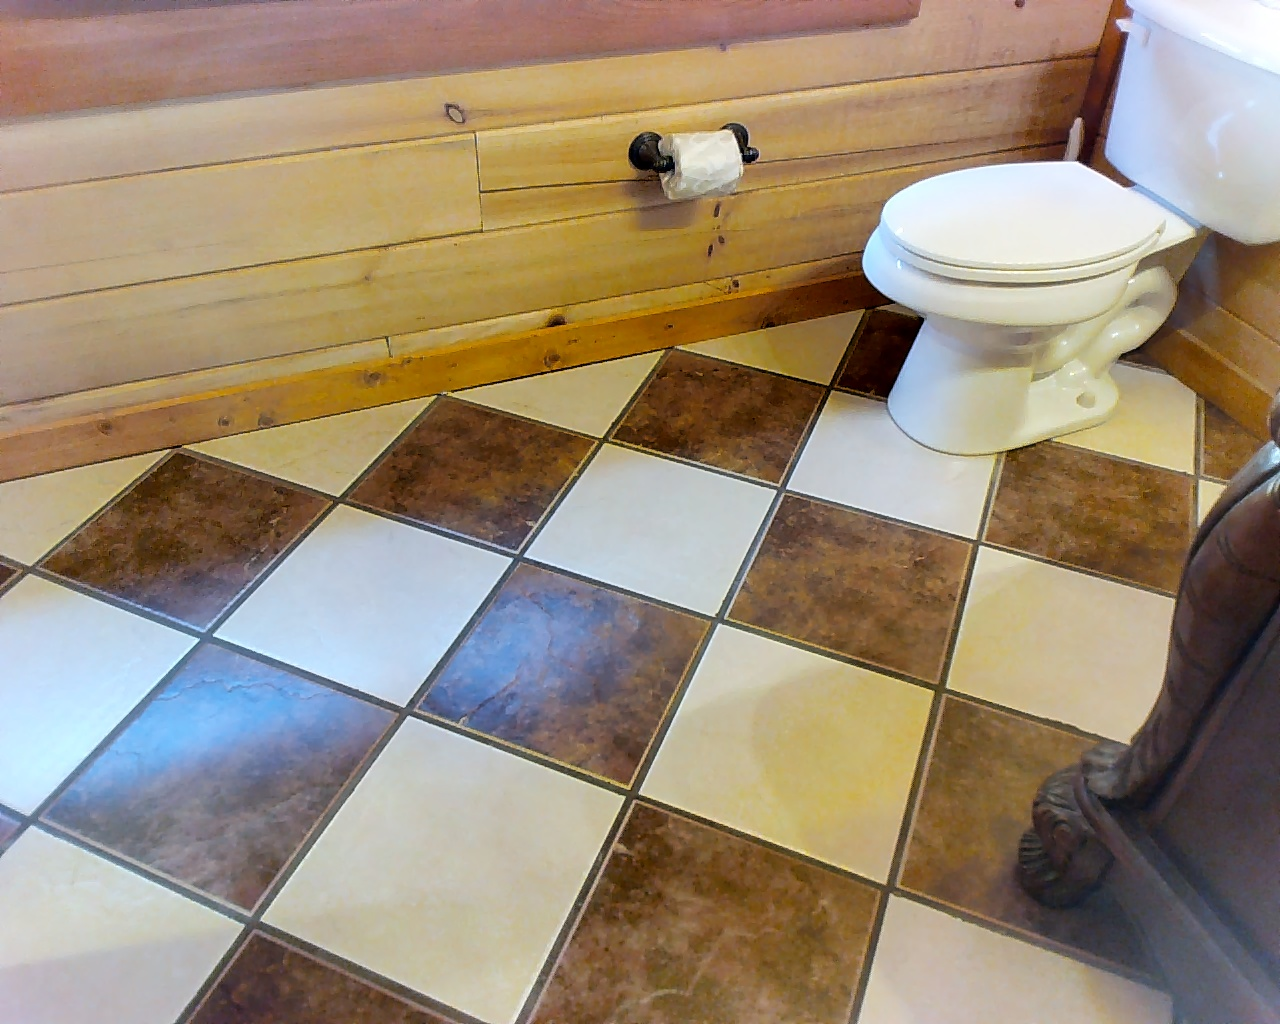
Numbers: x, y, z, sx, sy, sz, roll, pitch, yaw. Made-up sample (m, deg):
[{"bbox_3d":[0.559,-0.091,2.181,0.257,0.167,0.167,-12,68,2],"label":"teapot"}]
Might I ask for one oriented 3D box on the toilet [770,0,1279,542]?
[{"bbox_3d":[0.750,-0.490,1.880,0.780,0.760,0.560,-12,45,-17],"label":"toilet"}]
